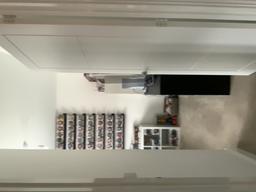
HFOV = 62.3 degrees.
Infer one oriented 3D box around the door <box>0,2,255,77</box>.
[{"bbox_3d":[0.170,-0.340,1.570,0.880,2.200,0.120,105,165,-79],"label":"door"}]
